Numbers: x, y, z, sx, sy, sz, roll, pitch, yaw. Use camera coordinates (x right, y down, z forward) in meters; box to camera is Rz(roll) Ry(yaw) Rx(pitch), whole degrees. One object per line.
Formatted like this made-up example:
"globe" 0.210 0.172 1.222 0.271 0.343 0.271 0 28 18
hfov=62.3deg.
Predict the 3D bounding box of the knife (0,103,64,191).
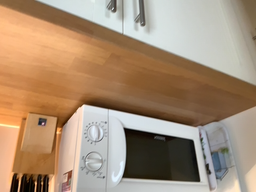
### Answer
"knife" -0.320 0.190 0.700 0.140 0.270 0.160 14 149 -27
